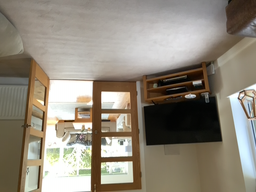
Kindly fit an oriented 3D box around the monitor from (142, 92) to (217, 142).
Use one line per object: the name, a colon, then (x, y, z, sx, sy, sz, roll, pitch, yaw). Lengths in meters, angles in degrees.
monitor: (0.830, 0.390, 3.660, 1.220, 0.760, 0.070, -8, 162, 24)
